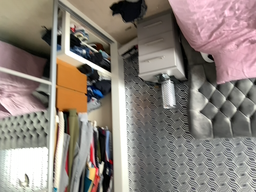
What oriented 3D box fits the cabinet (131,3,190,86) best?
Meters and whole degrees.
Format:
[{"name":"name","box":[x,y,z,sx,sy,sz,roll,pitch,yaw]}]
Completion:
[{"name":"cabinet","box":[0.340,-0.490,2.200,0.430,0.640,0.450,-9,166,26]}]
